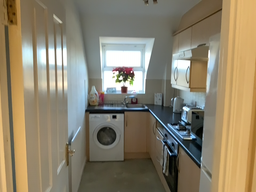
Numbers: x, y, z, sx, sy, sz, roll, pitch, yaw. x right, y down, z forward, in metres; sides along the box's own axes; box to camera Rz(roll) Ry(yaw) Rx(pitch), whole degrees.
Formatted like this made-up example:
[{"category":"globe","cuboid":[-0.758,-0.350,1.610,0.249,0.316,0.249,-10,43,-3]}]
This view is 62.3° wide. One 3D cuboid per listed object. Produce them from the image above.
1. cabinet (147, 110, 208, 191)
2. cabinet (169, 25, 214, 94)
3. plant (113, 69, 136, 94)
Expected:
[{"category":"cabinet","cuboid":[0.670,0.780,3.200,0.590,0.960,1.020,0,7,-4]},{"category":"cabinet","cuboid":[0.840,-0.480,2.940,0.300,0.810,0.790,0,7,-4]},{"category":"plant","cuboid":[-0.080,-0.300,4.270,0.430,0.490,0.310,0,7,-4]}]
